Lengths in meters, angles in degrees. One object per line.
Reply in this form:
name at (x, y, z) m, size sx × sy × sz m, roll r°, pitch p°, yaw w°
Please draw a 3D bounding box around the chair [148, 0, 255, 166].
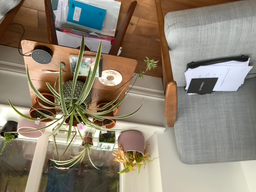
chair at (0.480, -0.120, 1.240) m, size 0.590 × 0.760 × 0.800 m, roll -8°, pitch 143°, yaw 8°
